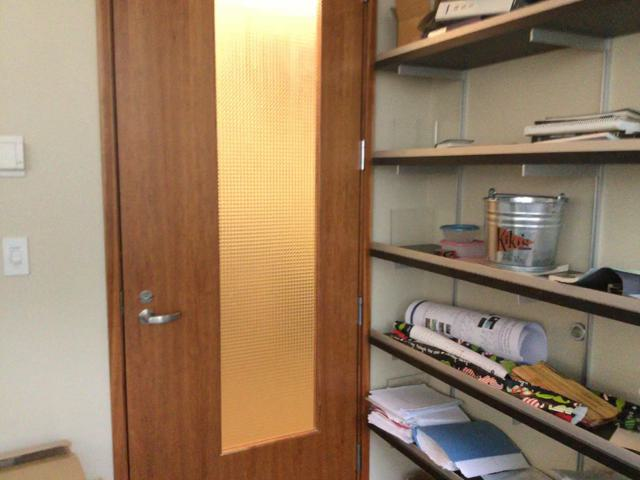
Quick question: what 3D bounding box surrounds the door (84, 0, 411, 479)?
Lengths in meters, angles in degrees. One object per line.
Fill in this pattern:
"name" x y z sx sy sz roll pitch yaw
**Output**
"door" -0.230 -0.030 2.110 1.160 2.430 0.110 -1 7 -27
